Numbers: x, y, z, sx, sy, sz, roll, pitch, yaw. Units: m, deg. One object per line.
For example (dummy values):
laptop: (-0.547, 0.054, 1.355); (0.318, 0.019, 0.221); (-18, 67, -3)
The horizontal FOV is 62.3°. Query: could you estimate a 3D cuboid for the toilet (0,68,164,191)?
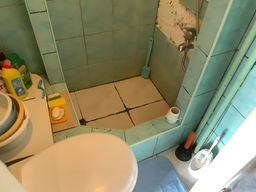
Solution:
toilet: (-0.330, 0.350, 0.880); (0.740, 0.730, 0.370); (-14, 51, -16)
